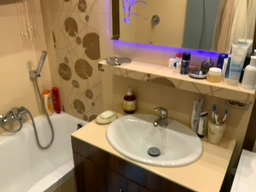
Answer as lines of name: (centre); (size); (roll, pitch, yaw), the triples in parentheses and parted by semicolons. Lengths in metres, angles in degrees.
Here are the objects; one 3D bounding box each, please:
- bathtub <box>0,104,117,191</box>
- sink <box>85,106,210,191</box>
bathtub: (-0.750, 0.670, 1.310); (0.670, 0.630, 1.390); (16, 28, 30)
sink: (0.110, 0.260, 1.150); (0.520, 0.140, 0.420); (16, 28, 30)
